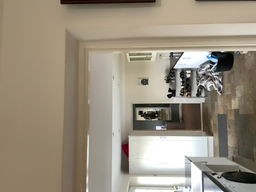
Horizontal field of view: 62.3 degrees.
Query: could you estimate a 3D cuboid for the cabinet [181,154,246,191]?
[{"bbox_3d":[1.490,1.470,3.820,0.630,0.910,0.720,65,-155,-83],"label":"cabinet"}]
